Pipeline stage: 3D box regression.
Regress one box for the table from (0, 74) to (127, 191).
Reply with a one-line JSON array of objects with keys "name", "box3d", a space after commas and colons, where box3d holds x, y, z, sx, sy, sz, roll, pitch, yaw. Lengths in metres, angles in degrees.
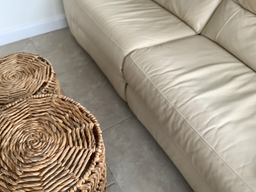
[{"name": "table", "box3d": [-0.340, 0.300, 0.890, 0.470, 0.460, 0.480, -25, 54, -23]}]
